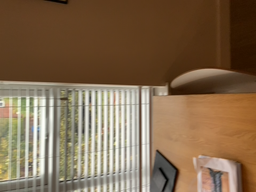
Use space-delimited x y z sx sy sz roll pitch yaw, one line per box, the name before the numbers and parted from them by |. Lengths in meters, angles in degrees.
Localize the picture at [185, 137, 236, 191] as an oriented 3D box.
picture | 0.360 0.360 0.950 0.240 0.040 0.320 172 98 -64
